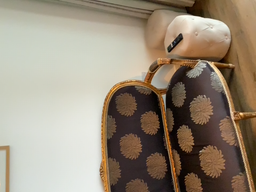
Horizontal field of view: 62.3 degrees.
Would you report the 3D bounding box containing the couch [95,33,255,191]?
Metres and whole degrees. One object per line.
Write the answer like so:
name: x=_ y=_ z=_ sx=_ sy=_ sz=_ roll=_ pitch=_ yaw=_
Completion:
couch: x=0.400 y=0.480 z=1.590 sx=0.800 sy=1.010 sz=1.530 roll=144 pitch=123 yaw=-62
